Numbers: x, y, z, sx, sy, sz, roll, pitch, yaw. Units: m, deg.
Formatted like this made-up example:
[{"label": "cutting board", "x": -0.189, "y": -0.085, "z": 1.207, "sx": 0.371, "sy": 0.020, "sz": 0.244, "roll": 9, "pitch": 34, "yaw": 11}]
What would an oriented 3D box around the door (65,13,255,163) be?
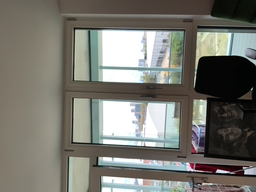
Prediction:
[{"label": "door", "x": 0.590, "y": -0.070, "z": 2.430, "sx": 0.100, "sy": 2.610, "sz": 1.630, "roll": -67, "pitch": -21, "yaw": -79}]
